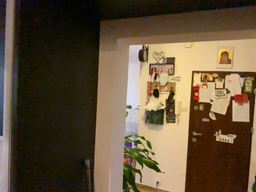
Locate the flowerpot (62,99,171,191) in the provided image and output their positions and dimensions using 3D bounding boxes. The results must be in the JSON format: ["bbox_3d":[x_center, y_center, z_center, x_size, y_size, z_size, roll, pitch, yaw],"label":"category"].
[{"bbox_3d":[-0.120,0.800,2.510,0.950,1.440,0.820,5,4,28],"label":"flowerpot"}]
